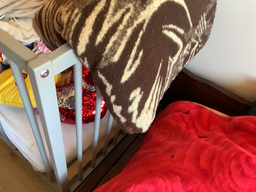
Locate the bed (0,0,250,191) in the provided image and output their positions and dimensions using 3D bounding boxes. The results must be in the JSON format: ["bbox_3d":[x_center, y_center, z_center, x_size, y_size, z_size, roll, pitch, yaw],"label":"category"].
[{"bbox_3d":[-0.400,-0.300,0.930,1.390,0.850,0.730,34,51,17],"label":"bed"}]
